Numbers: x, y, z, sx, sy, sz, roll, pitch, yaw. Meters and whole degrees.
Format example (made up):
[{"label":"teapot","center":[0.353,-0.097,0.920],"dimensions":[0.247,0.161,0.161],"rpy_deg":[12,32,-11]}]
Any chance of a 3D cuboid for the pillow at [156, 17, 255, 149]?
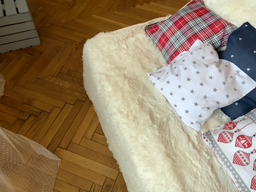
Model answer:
[{"label":"pillow","center":[0.400,-0.090,1.020],"dimensions":[0.170,0.550,0.410],"rpy_deg":[-26,133,-28]}]
